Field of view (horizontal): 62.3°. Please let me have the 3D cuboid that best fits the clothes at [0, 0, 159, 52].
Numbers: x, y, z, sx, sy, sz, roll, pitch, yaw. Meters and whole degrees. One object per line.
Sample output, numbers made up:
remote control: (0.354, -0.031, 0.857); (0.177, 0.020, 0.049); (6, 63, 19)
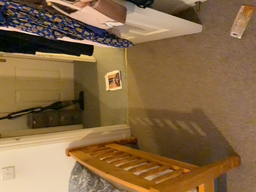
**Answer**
clothes: (-0.480, -0.340, 0.860); (0.440, 1.260, 0.130); (7, 96, 53)
